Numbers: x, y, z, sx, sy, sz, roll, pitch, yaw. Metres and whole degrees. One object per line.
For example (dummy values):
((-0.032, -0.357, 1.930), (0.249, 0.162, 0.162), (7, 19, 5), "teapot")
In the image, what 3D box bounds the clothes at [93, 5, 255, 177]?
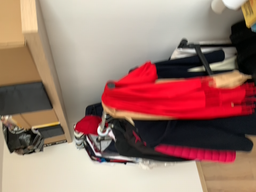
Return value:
((0.350, -0.050, 1.160), (0.350, 0.980, 0.770), (119, 144, -65), "clothes")

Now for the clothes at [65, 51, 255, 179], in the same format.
((0.200, 0.130, 1.530), (0.520, 1.190, 0.700), (120, 144, -66), "clothes")
